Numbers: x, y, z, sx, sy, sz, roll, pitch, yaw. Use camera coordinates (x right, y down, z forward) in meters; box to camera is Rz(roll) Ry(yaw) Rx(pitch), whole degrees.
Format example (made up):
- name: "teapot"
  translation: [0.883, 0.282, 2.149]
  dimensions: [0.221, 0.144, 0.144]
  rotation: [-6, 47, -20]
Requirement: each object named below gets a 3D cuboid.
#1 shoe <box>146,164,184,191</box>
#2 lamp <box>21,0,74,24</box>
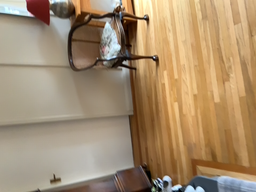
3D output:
- name: "shoe"
  translation: [0.360, 0.850, 2.140]
  dimensions: [0.420, 0.110, 0.260]
  rotation: [-22, 73, 59]
- name: "lamp"
  translation: [-0.900, -1.090, 2.330]
  dimensions: [0.440, 0.470, 0.350]
  rotation: [-20, 75, 60]
